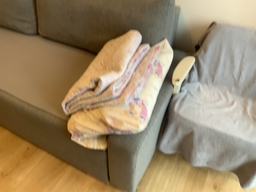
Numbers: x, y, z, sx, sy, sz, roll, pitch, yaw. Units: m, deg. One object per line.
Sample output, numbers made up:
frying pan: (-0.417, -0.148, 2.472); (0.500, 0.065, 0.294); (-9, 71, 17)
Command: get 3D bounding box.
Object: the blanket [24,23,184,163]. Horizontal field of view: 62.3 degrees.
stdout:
blanket: (-0.080, -0.070, 1.070); (0.510, 0.270, 0.560); (23, 47, 19)
